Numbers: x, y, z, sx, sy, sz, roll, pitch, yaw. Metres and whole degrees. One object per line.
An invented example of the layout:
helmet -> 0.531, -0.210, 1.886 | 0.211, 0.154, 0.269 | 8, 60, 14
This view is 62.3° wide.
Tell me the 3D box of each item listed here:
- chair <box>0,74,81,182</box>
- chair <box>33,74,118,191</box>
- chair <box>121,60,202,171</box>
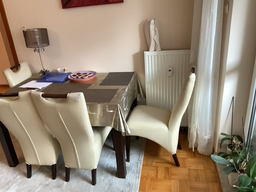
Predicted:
chair -> -0.840, 0.290, 2.090 | 0.430, 0.900, 0.510 | 1, 24, 12
chair -> -0.410, 0.310, 1.970 | 0.430, 0.900, 0.570 | 1, 24, 12
chair -> 0.340, 0.170, 2.130 | 0.650, 0.940, 0.510 | 2, 24, 13
